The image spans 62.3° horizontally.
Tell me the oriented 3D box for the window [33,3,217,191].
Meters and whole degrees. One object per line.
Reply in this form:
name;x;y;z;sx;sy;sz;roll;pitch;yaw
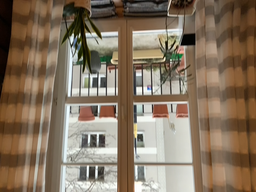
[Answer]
window;-0.040;0.450;1.820;1.460;2.690;0.130;-1;167;3
